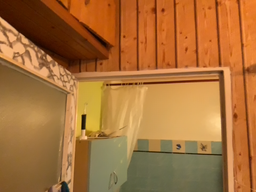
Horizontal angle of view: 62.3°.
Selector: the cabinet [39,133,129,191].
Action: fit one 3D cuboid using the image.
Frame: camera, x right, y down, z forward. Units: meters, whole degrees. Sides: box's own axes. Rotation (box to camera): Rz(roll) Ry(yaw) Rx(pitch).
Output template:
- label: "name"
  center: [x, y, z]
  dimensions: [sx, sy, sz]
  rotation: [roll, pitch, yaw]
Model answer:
- label: "cabinet"
  center: [-0.270, 0.520, 1.670]
  dimensions: [0.330, 0.420, 0.840]
  rotation: [-1, -8, 16]
